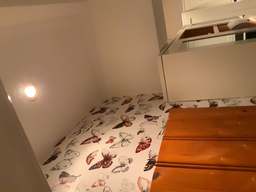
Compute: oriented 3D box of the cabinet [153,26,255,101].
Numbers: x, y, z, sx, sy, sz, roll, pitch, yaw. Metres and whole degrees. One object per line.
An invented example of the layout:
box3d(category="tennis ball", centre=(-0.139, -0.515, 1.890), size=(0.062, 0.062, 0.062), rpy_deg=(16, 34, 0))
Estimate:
box3d(category="cabinet", centre=(0.650, -0.240, 1.420), size=(0.500, 0.840, 0.310), rpy_deg=(-52, -46, -60))
